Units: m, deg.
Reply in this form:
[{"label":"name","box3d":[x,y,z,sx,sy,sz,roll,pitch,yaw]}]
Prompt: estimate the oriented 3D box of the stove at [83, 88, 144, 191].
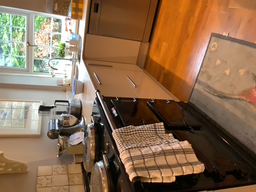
[{"label":"stove","box3d":[-0.180,0.490,1.430,1.020,0.020,0.750,-127,44,-58]}]
